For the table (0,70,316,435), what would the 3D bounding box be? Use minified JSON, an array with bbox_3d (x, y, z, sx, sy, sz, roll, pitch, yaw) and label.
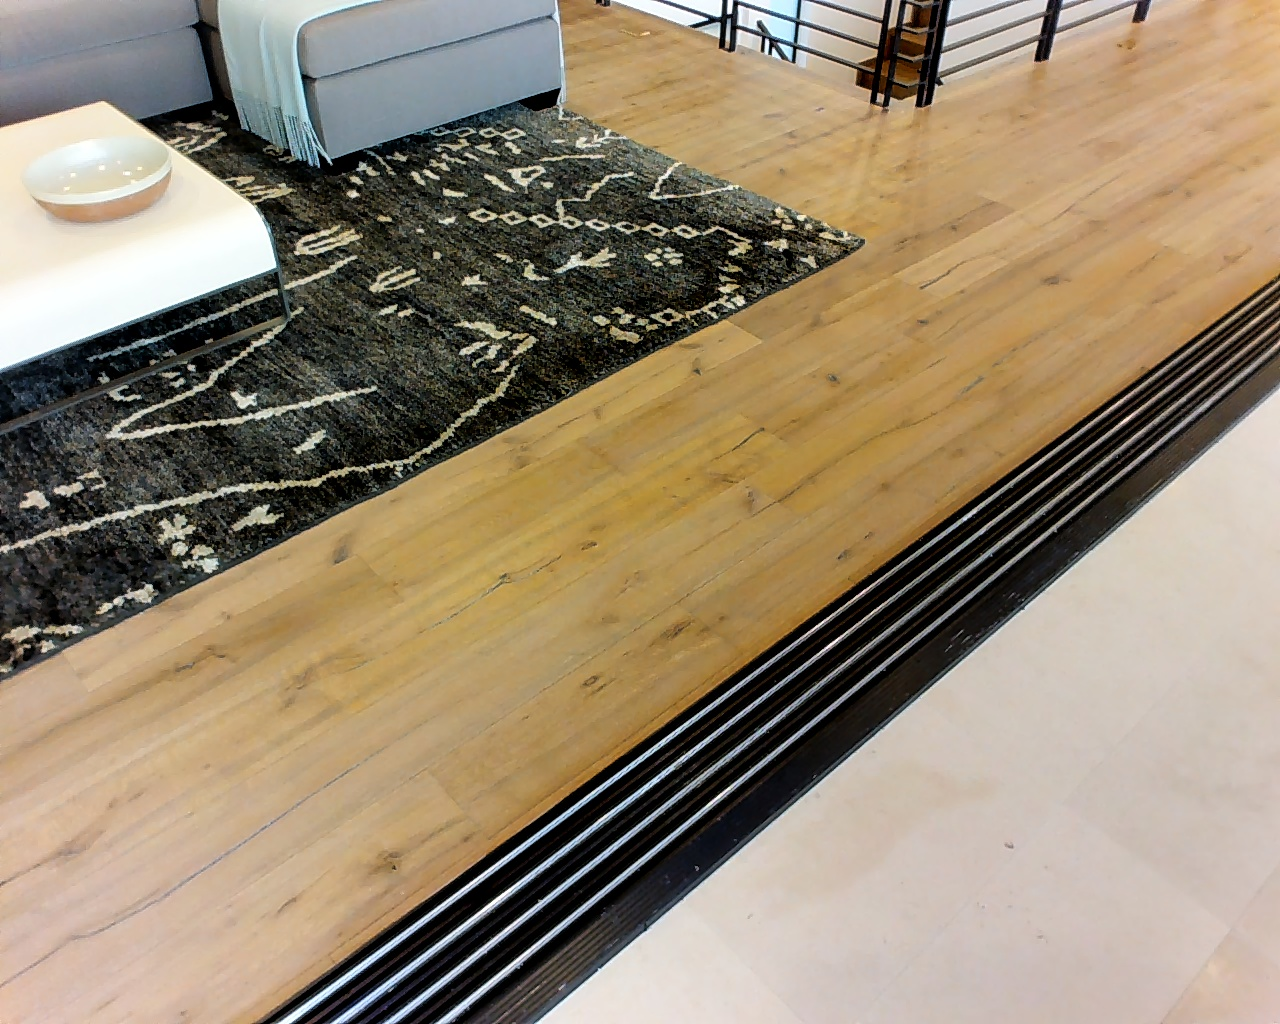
[{"bbox_3d":[-1.690,-0.710,2.860,1.140,0.350,1.120,-31,51,-31],"label":"table"}]
